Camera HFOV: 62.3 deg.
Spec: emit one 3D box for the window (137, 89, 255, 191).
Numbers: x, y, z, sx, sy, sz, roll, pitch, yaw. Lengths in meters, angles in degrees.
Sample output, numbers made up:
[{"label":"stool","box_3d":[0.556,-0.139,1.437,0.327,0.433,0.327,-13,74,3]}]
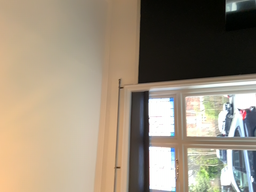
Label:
[{"label":"window","box_3d":[0.980,0.980,2.700,0.080,1.790,2.090,29,-120,-65]}]
